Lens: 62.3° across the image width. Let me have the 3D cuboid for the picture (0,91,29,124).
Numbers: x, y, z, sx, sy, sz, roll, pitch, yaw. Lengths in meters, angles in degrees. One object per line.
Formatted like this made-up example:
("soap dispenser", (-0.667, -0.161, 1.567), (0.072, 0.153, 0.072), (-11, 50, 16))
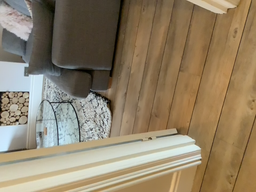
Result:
("picture", (-2.120, 0.210, 3.920), (0.060, 0.490, 0.610), (27, 111, 49))
